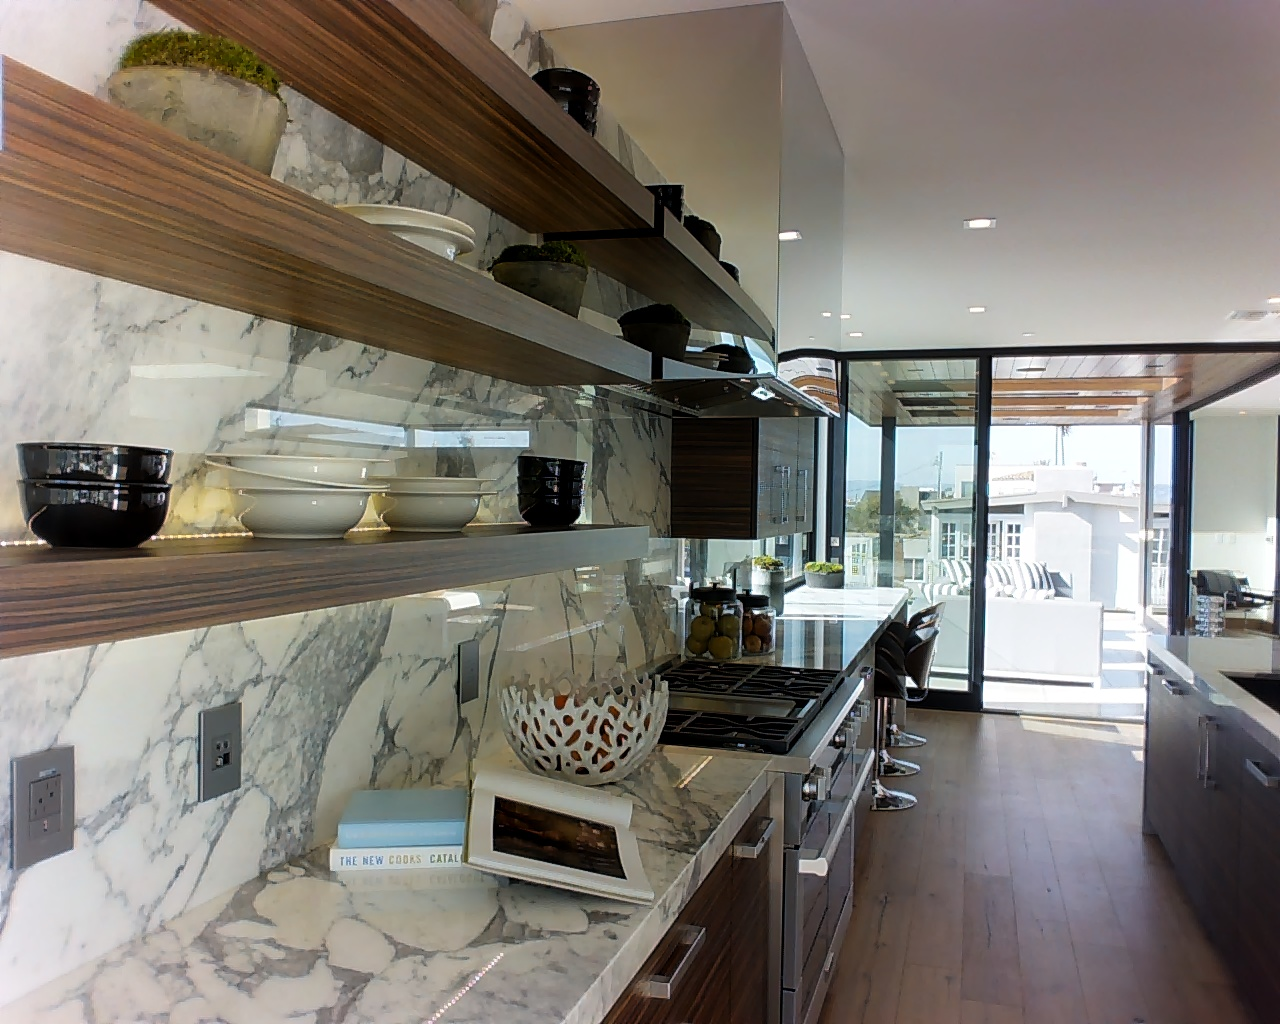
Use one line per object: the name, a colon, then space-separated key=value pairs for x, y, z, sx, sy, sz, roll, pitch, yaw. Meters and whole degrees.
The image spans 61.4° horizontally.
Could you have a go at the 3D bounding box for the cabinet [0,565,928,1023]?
cabinet: x=0.540 y=0.960 z=4.210 sx=0.750 sy=1.080 sz=7.300 roll=1 pitch=1 yaw=18
